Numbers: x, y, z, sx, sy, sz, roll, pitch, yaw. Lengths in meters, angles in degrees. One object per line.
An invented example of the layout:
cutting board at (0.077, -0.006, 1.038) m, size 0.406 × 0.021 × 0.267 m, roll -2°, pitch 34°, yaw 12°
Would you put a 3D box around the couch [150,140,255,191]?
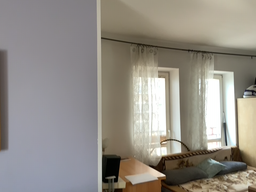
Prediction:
couch at (1.480, 1.250, 3.320) m, size 2.080 × 0.810 × 0.930 m, roll 0°, pitch -2°, yaw -26°
